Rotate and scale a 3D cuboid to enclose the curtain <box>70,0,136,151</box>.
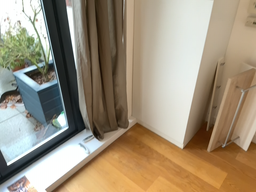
[{"bbox_3d":[-0.150,-0.540,1.470,0.170,2.220,0.430,27,42,33],"label":"curtain"}]
